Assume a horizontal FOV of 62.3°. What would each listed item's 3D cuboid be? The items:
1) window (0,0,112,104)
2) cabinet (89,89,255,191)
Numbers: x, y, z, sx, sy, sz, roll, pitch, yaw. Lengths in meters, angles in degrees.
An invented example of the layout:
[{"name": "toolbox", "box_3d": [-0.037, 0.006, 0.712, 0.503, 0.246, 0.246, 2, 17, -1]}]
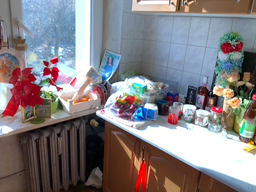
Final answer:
[{"name": "window", "box_3d": [-0.480, -0.750, 1.550, 0.800, 1.530, 0.130, -12, 24, -40]}, {"name": "cabinet", "box_3d": [0.470, 0.620, 1.440, 0.540, 0.840, 1.740, -13, 25, -43]}]
